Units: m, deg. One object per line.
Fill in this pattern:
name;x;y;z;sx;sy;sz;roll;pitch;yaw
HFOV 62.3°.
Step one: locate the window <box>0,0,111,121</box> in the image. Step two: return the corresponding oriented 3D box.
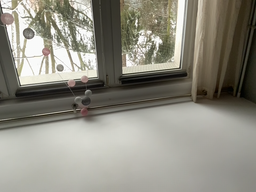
window;-0.920;-0.550;1.710;1.490;1.560;0.170;-8;-155;-14
